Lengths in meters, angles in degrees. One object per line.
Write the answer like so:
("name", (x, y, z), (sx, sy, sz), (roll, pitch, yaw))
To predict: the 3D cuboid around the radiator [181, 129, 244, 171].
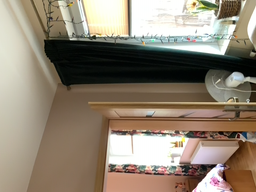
("radiator", (1.490, 1.030, 3.910), (1.160, 0.790, 0.190), (88, -177, -47))
